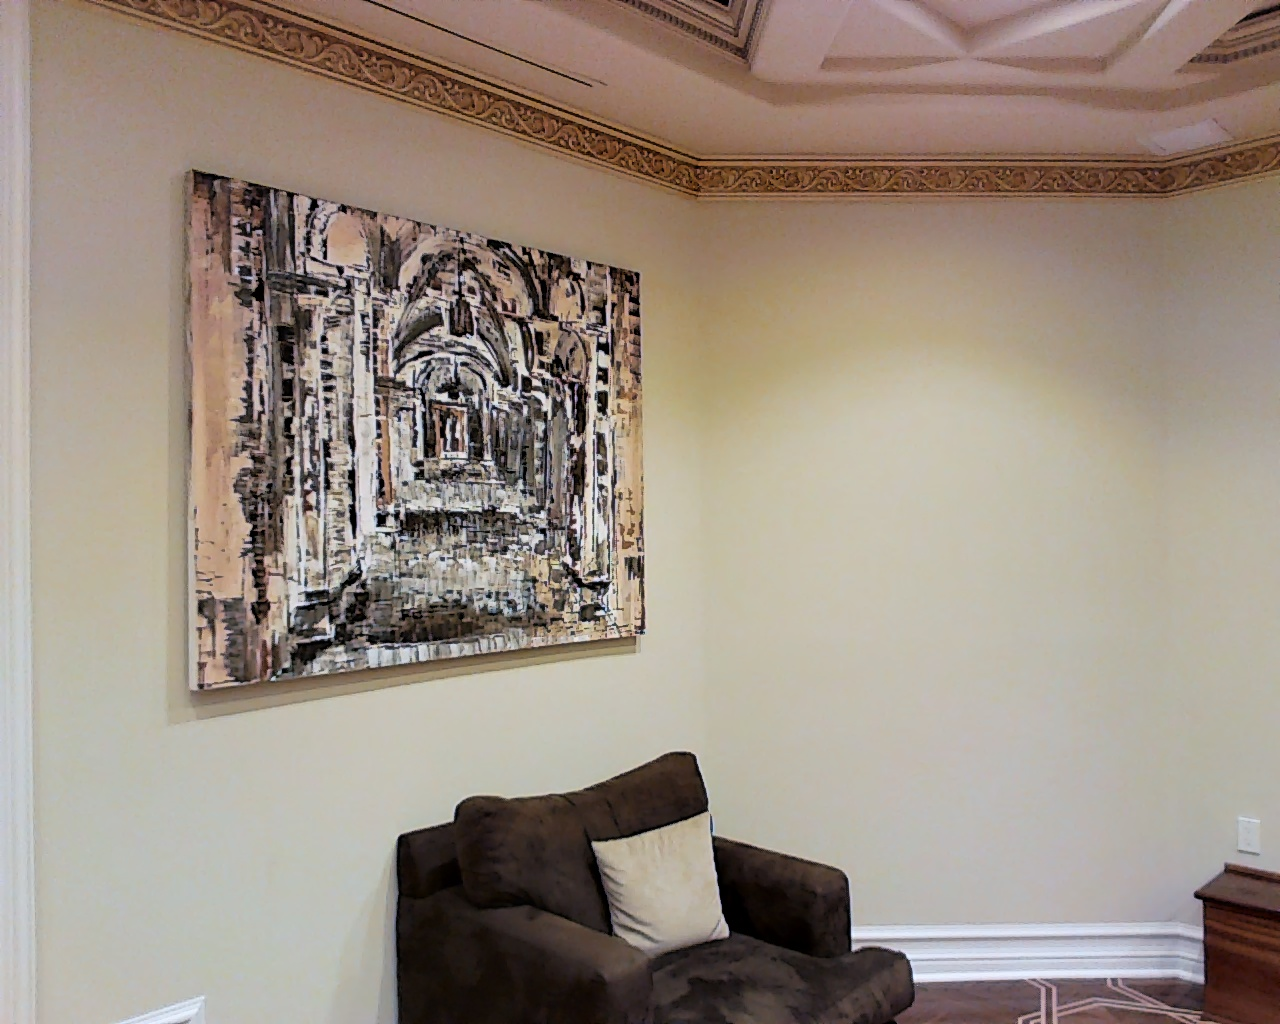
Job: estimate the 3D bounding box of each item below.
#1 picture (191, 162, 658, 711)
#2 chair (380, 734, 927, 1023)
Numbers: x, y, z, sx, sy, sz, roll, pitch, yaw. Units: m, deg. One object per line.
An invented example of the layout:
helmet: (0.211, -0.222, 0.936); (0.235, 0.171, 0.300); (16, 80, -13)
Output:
picture: (-0.520, -0.180, 3.130); (0.120, 1.300, 1.530); (-1, -1, 44)
chair: (0.040, 1.210, 2.930); (1.060, 0.910, 1.050); (-1, -1, 44)
